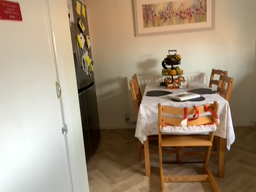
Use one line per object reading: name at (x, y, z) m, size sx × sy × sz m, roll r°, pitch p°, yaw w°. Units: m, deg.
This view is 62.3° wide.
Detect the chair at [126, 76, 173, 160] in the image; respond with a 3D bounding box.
chair at (0.250, 0.240, 2.410) m, size 0.470 × 0.880 × 0.330 m, roll -2°, pitch 12°, yaw 5°

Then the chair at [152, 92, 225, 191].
chair at (0.490, 0.400, 1.870) m, size 0.510 × 0.760 × 0.530 m, roll -2°, pitch 12°, yaw 8°
